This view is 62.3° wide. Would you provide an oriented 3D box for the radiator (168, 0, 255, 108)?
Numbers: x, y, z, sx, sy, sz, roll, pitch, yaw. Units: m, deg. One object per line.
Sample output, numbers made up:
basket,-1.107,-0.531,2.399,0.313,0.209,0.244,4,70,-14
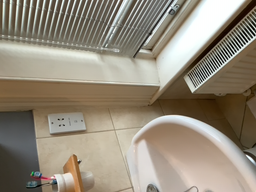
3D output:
radiator,0.670,-0.260,0.840,0.950,0.570,0.120,-51,50,43
